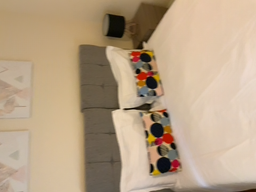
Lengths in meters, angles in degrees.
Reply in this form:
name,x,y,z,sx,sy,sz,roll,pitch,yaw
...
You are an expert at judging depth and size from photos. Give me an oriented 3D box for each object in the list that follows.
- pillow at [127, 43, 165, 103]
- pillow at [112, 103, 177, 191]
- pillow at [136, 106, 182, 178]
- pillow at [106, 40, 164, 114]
name,x,y,z,sx,sy,sz,roll,pitch,yaw
pillow,0.170,-0.250,2.210,0.140,0.300,0.600,92,172,-67
pillow,0.120,0.480,1.960,0.170,0.470,0.780,102,162,-67
pillow,0.260,0.400,1.910,0.140,0.300,0.590,83,180,-57
pillow,0.050,-0.220,2.310,0.200,0.510,0.770,94,170,-64
